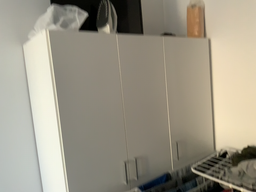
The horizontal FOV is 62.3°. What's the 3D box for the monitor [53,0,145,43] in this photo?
[{"bbox_3d":[-0.180,-0.660,1.560,0.720,0.500,0.060,-9,7,-36],"label":"monitor"}]
